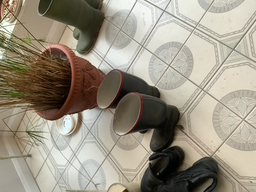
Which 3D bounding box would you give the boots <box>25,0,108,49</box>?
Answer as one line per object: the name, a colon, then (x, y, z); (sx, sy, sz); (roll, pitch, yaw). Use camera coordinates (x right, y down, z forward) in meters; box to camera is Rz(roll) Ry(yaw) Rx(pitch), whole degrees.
boots: (-0.360, -0.490, 1.270); (0.210, 0.350, 0.260); (41, 109, 31)
